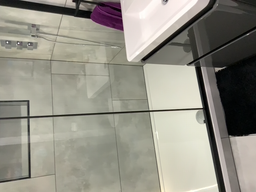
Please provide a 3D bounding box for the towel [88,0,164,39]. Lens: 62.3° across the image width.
[{"bbox_3d":[-0.010,-0.500,1.420,0.170,0.470,0.110,-29,65,61],"label":"towel"}]
